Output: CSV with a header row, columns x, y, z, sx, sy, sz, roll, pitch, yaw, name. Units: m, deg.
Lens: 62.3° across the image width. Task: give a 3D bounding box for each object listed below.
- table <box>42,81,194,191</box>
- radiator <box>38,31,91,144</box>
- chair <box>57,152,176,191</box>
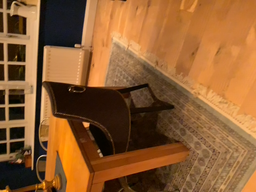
x,y,z,sx,sy,sz,roll,pitch,yaw,name
-0.380,1.120,2.250,1.140,0.770,2.280,47,130,47,table
-1.010,-0.040,3.260,0.090,0.630,1.800,45,129,48,radiator
-0.100,0.790,1.710,0.440,0.810,0.320,41,126,50,chair
